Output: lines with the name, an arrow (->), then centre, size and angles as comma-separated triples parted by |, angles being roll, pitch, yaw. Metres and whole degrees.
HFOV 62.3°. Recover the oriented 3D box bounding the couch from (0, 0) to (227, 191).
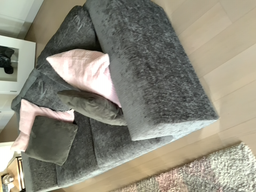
couch -> -0.370, 0.120, 1.780 | 1.760, 0.750, 1.040 | -36, 64, 38
